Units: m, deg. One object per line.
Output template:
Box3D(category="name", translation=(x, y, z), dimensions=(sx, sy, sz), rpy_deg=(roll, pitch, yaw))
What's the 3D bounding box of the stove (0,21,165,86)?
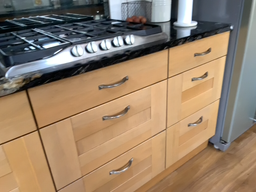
Box3D(category="stove", translation=(-0.280, -0.240, 0.920), dimensions=(0.630, 0.040, 0.600), rpy_deg=(-21, 33, -32))
